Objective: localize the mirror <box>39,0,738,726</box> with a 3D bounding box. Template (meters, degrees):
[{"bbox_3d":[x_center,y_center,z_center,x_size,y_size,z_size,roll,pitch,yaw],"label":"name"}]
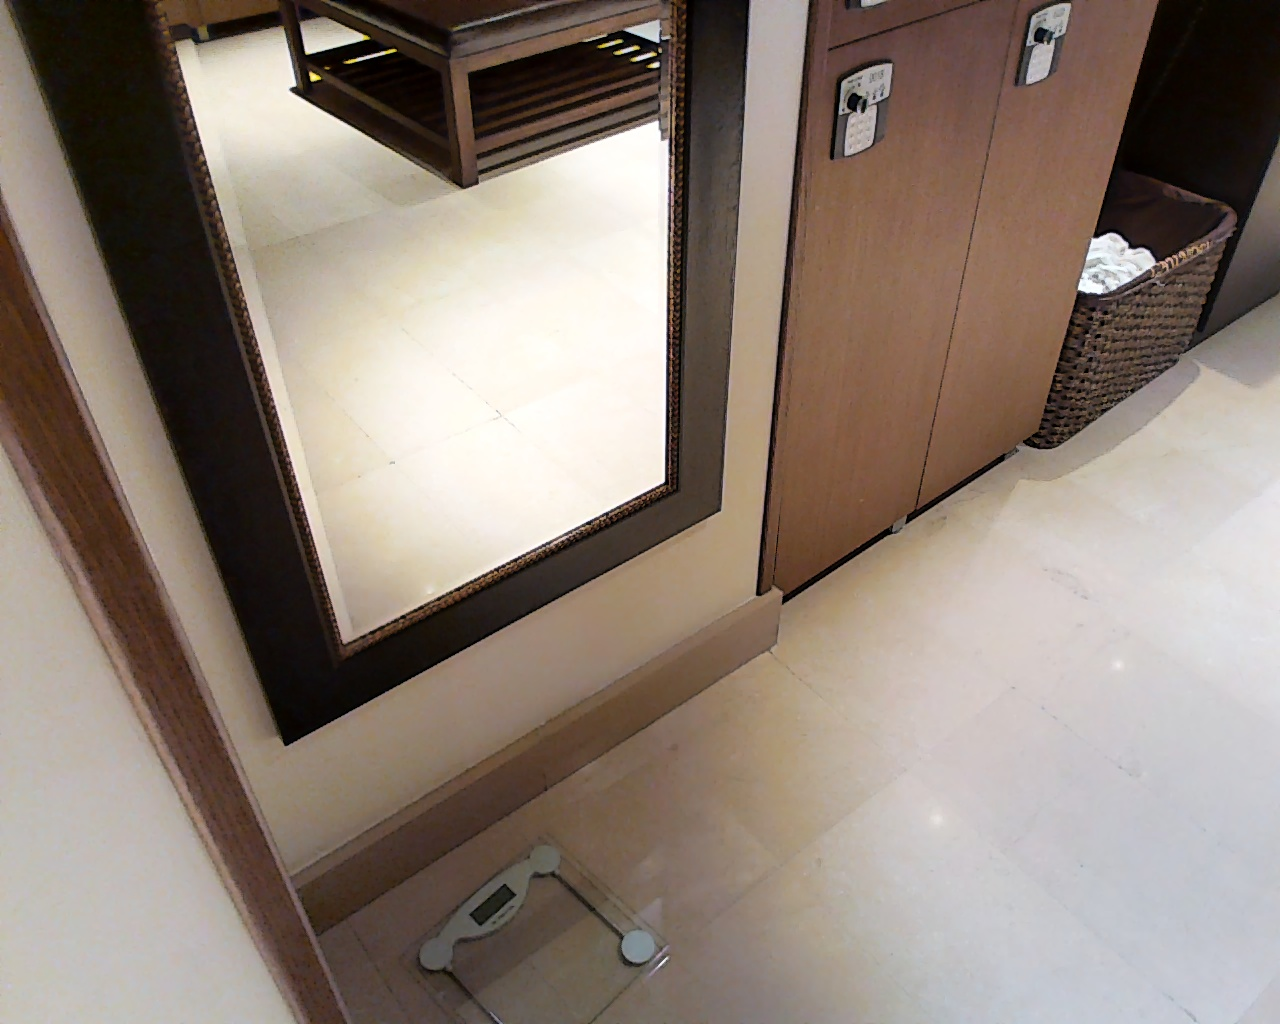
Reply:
[{"bbox_3d":[-0.180,-0.420,1.090,0.700,1.450,0.050,-28,49,-27],"label":"mirror"}]

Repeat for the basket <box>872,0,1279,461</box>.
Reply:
[{"bbox_3d":[1.040,-0.710,2.580,0.670,0.830,0.530,-29,49,-29],"label":"basket"}]
